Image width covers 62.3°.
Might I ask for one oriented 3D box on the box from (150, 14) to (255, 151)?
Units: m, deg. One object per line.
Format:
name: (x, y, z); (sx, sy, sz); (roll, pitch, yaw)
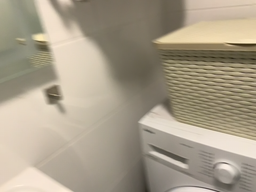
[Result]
box: (0.410, -0.080, 0.670); (0.500, 0.290, 0.430); (11, 31, 37)
